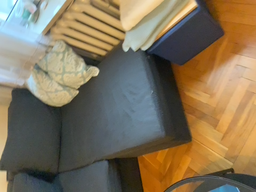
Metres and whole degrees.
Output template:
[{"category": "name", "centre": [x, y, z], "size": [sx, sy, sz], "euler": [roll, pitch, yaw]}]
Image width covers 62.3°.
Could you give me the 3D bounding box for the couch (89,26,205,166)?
[{"category": "couch", "centre": [0.090, 0.040, 1.500], "size": [0.540, 0.410, 0.760], "euler": [-28, 63, 38]}]

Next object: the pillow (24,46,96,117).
[{"category": "pillow", "centre": [-0.540, -0.080, 1.630], "size": [0.500, 0.300, 0.260], "euler": [-39, 57, 33]}]

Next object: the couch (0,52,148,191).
[{"category": "couch", "centre": [-0.430, 0.930, 1.580], "size": [0.930, 0.780, 2.170], "euler": [-28, 63, 38]}]

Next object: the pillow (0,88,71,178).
[{"category": "pillow", "centre": [-0.780, 0.270, 1.780], "size": [0.190, 0.420, 0.640], "euler": [-21, 85, 21]}]
